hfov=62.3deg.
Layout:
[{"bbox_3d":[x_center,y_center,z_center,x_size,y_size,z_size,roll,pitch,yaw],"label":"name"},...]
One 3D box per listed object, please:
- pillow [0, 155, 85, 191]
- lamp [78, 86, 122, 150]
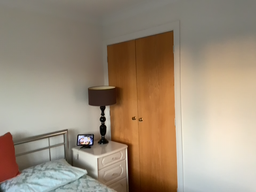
[{"bbox_3d":[-0.850,0.790,2.070,0.540,0.130,0.650,2,6,44],"label":"pillow"},{"bbox_3d":[-0.350,0.240,2.670,0.390,0.720,0.340,2,6,44],"label":"lamp"}]
